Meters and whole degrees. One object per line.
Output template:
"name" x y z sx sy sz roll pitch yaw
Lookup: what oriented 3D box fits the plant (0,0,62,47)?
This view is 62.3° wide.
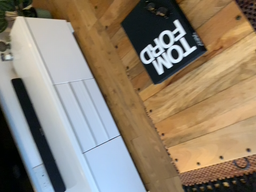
"plant" -1.030 -0.780 2.050 0.400 0.510 0.440 -37 76 41
